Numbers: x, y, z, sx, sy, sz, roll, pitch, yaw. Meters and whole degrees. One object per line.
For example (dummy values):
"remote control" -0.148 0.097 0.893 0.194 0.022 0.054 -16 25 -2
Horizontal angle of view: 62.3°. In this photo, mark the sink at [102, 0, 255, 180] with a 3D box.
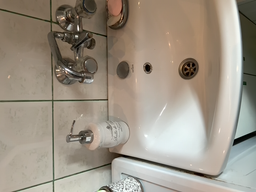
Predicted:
"sink" 0.120 -0.090 0.590 0.380 0.160 0.510 -3 88 44
